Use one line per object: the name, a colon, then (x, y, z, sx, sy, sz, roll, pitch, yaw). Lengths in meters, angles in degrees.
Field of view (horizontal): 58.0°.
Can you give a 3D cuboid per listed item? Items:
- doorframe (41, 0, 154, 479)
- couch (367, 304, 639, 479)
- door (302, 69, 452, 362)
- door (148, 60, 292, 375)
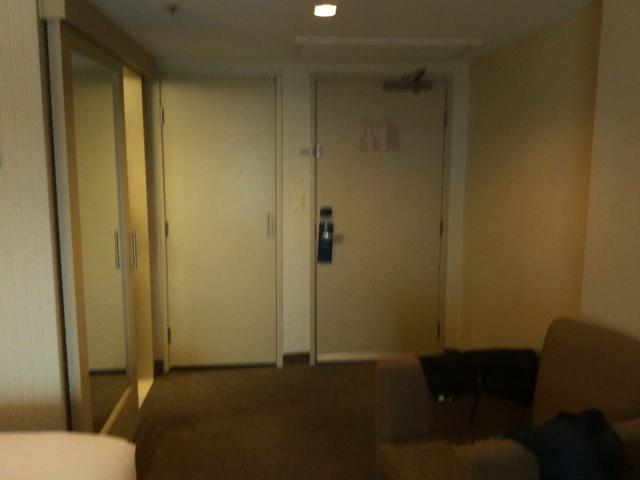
doorframe: (-0.950, 0.020, 2.610, 0.090, 2.000, 0.920, -2, 7, -4)
couch: (0.670, 0.750, 1.980, 0.890, 0.850, 0.850, -2, 7, -4)
door: (0.390, -0.160, 4.040, 0.970, 1.960, 0.300, -2, 7, -4)
door: (-0.640, -0.130, 3.870, 0.850, 2.050, 0.180, -2, 7, -4)
